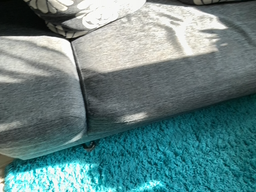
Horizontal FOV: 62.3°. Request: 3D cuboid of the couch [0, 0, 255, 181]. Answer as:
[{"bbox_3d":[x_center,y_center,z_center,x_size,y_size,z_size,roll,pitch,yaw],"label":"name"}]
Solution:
[{"bbox_3d":[0.310,-0.440,1.140,2.000,0.730,1.000,-15,59,-10],"label":"couch"}]
